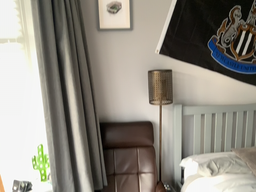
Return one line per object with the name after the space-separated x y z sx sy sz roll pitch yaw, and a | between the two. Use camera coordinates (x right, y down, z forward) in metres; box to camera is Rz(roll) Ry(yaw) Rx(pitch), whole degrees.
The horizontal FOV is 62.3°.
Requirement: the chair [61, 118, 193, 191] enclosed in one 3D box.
-0.020 0.790 1.750 0.770 0.960 0.880 -3 11 -5 | chair
